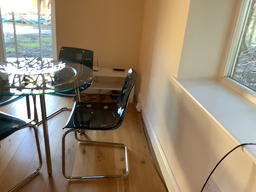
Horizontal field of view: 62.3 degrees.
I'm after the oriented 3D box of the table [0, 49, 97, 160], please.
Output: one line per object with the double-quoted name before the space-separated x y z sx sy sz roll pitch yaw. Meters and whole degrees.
"table" -0.850 0.030 2.110 0.980 0.770 0.850 3 22 -5
